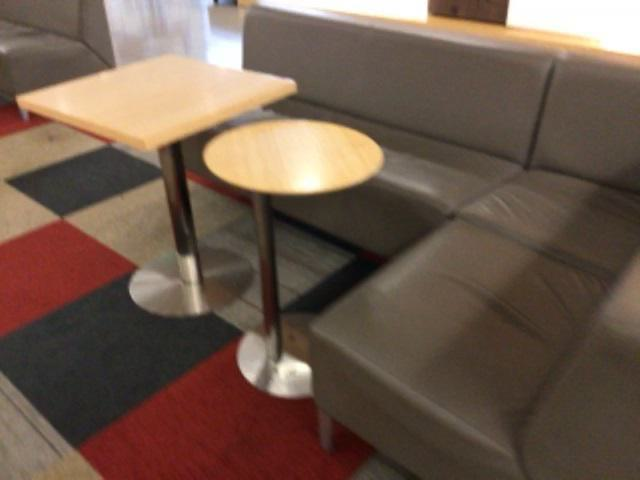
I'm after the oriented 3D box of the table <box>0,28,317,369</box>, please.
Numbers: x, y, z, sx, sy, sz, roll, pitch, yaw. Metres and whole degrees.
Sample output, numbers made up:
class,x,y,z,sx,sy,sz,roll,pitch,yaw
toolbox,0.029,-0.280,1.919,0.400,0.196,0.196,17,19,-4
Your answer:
class,x,y,z,sx,sy,sz,roll,pitch,yaw
table,-0.480,-0.190,1.970,0.670,0.810,0.660,21,39,29
